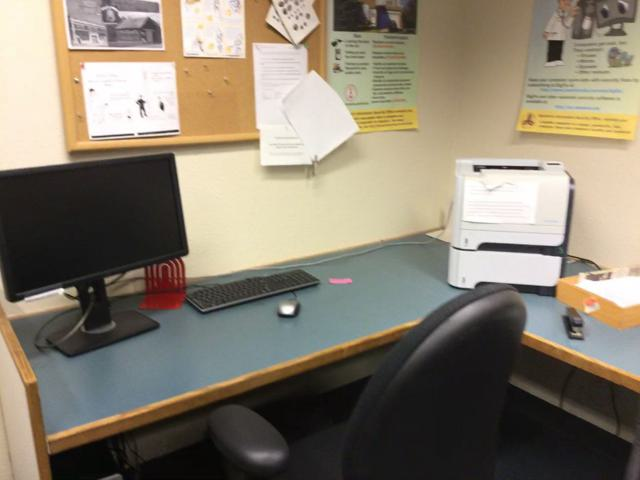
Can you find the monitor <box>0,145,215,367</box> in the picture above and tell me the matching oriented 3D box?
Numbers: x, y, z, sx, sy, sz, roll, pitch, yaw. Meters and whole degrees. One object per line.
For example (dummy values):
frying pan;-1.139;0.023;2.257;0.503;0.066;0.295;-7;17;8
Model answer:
monitor;-0.580;0.010;1.530;0.500;0.460;0.240;-12;18;-33
